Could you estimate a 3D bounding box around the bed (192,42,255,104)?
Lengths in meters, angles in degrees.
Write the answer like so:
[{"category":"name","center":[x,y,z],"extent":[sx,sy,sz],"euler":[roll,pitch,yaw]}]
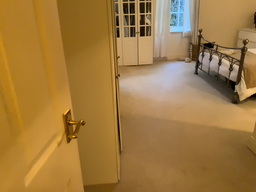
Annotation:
[{"category":"bed","center":[2.480,-0.530,3.750],"extent":[2.120,0.550,1.630],"euler":[-4,23,-4]}]
